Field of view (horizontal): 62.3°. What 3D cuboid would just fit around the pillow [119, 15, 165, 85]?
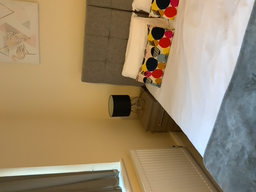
[{"bbox_3d":[0.130,-0.460,2.170,0.160,0.330,0.650,35,124,44],"label":"pillow"}]

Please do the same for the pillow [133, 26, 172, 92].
[{"bbox_3d":[0.240,-0.360,2.090,0.130,0.270,0.600,27,118,31],"label":"pillow"}]
